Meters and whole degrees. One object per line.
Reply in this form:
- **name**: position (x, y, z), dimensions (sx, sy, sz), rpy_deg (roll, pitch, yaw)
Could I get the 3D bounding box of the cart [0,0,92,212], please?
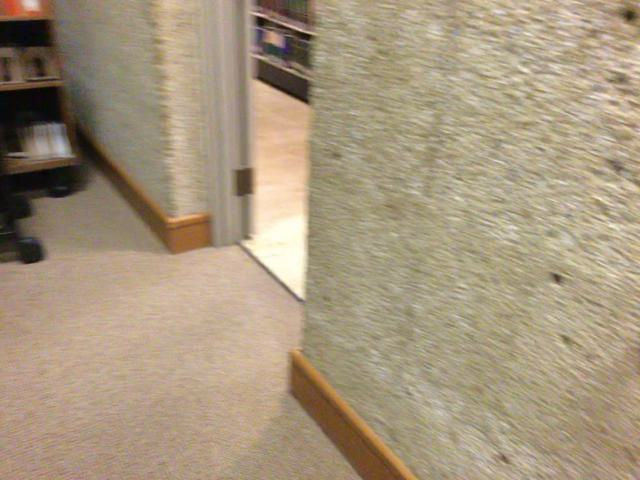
- **cart**: position (-1.640, -0.720, 2.620), dimensions (0.870, 1.110, 0.520), rpy_deg (-18, 37, -32)
